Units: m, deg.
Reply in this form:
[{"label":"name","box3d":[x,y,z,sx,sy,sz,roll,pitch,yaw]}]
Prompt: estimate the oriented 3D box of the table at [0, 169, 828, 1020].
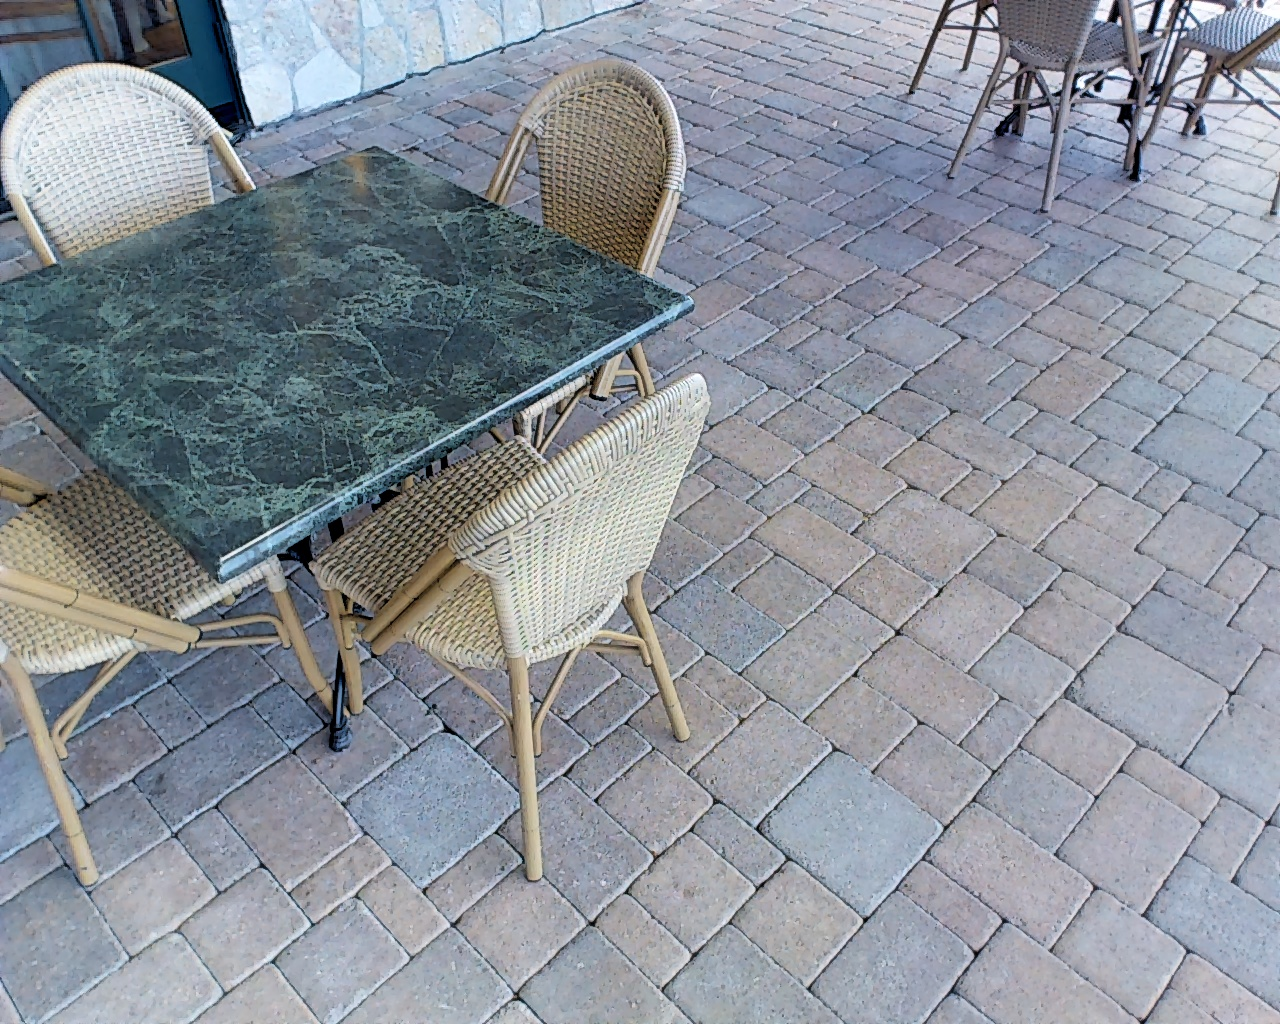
[{"label":"table","box3d":[-0.610,-0.040,2.230,1.260,0.520,1.460,-34,52,-31]}]
